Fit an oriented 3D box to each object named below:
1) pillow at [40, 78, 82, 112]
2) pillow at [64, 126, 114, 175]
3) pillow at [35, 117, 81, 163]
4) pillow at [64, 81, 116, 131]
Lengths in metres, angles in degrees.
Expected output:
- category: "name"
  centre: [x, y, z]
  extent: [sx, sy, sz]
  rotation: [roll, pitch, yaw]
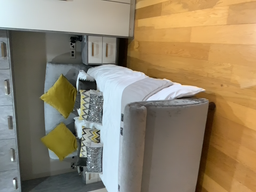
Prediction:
- category: "pillow"
  centre: [-1.020, -0.010, 3.250]
  extent: [0.470, 0.180, 0.460]
  rotation: [-4, 115, 26]
- category: "pillow"
  centre: [-0.550, 0.780, 3.040]
  extent: [0.240, 0.420, 0.530]
  rotation: [20, 153, 55]
- category: "pillow"
  centre: [-1.110, 0.700, 3.430]
  extent: [0.210, 0.510, 0.490]
  rotation: [-26, 106, 37]
- category: "pillow"
  centre: [-0.530, 0.140, 2.990]
  extent: [0.520, 0.540, 0.230]
  rotation: [25, 172, -35]
